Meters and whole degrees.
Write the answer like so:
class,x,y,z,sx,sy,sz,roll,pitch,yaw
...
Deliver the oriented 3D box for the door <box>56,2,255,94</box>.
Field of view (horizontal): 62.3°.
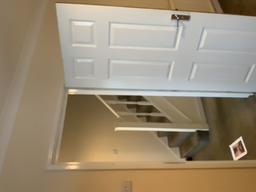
class,x,y,z,sx,sy,sz,roll,pitch,yaw
door,0.390,-0.370,1.930,0.040,1.930,0.780,-97,10,-56
